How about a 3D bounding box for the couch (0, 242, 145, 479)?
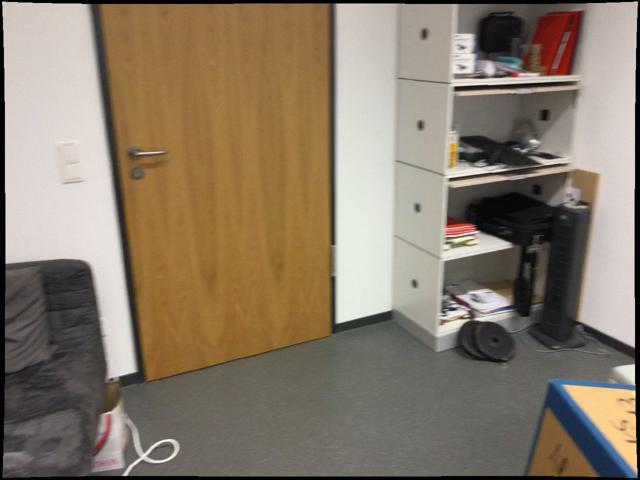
[{"bbox_3d":[-1.049,0.581,1.700,0.829,0.681,1.330,-4,20,-10],"label":"couch"}]
